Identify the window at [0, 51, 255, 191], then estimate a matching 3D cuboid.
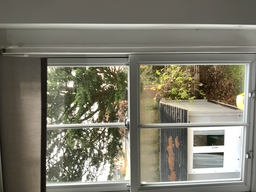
[{"bbox_3d":[0.130,0.200,1.190,0.120,1.540,0.870,-126,35,-82],"label":"window"}]
